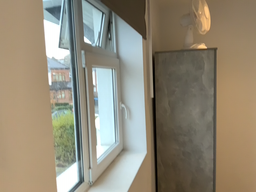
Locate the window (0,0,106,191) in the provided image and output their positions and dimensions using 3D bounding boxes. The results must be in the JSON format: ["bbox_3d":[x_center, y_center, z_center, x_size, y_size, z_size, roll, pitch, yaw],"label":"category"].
[{"bbox_3d":[-0.420,-0.050,1.150,0.130,1.210,1.190,-1,6,15],"label":"window"}]
